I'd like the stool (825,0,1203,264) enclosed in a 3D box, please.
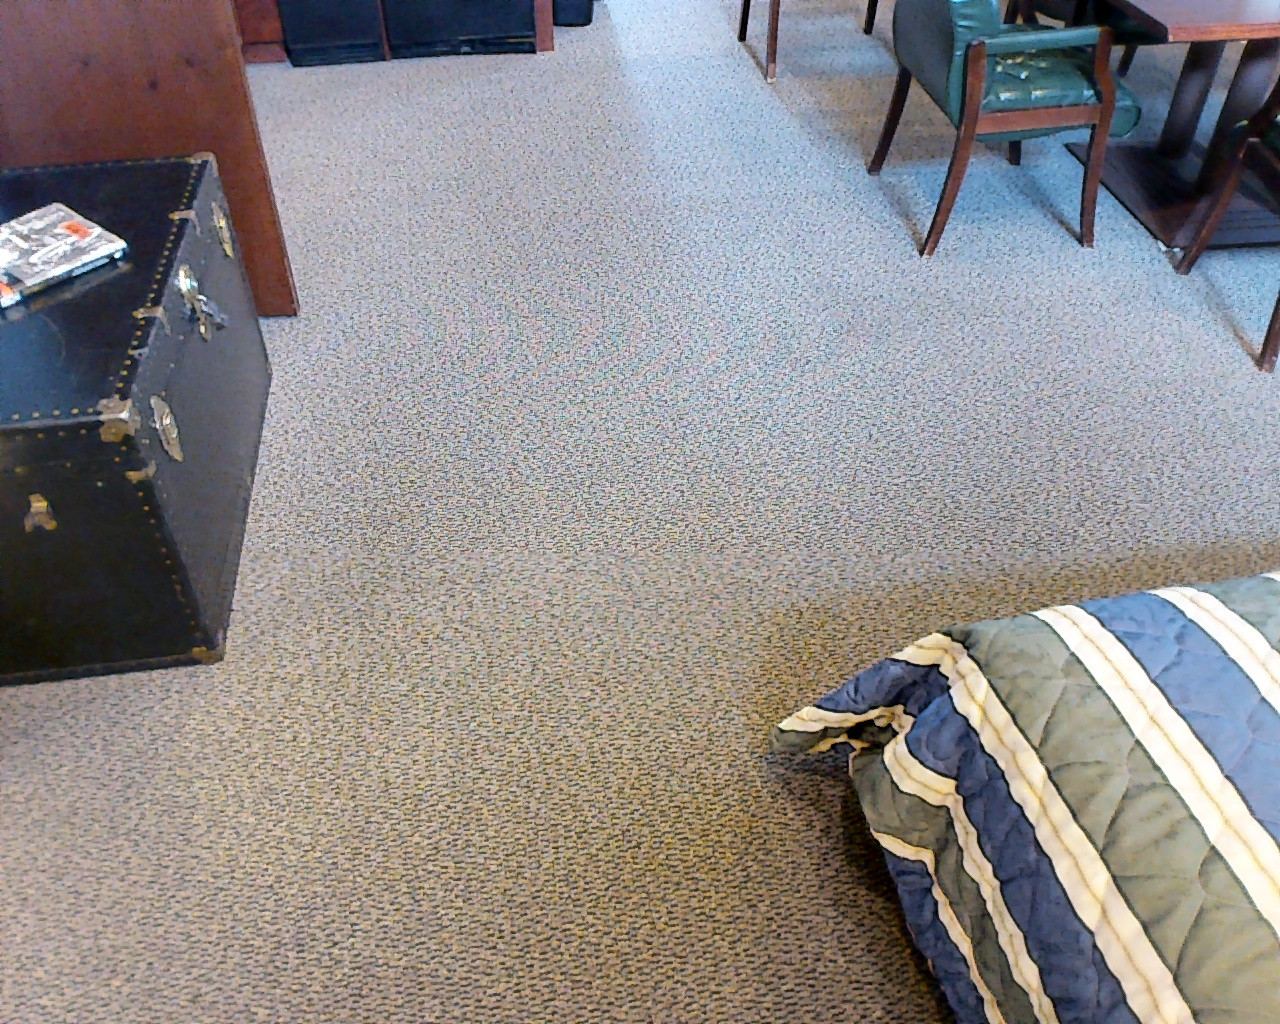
[{"bbox_3d":[1.060,-1.330,3.210,0.740,0.880,0.680,-7,42,-7],"label":"stool"}]
